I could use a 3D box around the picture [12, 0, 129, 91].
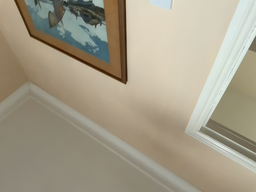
[{"bbox_3d":[-0.320,-0.420,1.030,0.740,0.620,0.100,31,-120,21],"label":"picture"}]
